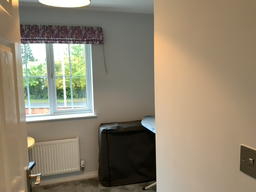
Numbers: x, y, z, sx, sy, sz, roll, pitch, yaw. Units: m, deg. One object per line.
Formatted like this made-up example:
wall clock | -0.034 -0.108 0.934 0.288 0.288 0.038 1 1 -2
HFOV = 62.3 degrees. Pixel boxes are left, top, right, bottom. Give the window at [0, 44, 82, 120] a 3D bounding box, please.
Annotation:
window | -1.190 -0.200 2.920 1.040 0.990 0.110 -2 6 -13

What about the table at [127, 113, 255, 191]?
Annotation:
table | 0.480 0.760 2.300 0.520 0.860 1.660 -3 6 -17
